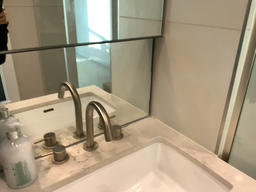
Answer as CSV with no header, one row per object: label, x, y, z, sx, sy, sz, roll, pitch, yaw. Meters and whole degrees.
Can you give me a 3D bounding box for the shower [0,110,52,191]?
shower,-0.290,0.150,0.550,0.110,0.150,0.170,-15,29,-33
